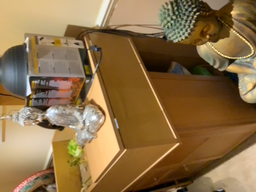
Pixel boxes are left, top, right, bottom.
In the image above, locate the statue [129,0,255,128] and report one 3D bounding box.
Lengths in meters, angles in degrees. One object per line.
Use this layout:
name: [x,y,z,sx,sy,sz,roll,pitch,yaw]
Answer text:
statue: [0.560,-0.240,1.030,0.440,0.880,0.580,-56,44,42]
